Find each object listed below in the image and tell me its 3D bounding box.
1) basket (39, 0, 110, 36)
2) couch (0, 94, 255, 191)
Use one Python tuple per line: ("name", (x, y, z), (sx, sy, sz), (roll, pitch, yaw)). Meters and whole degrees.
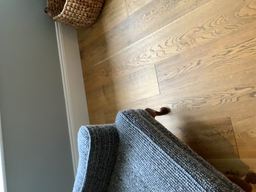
("basket", (-0.510, -0.940, 1.910), (0.530, 0.370, 0.560), (-16, 80, 43))
("couch", (-0.070, 0.590, 1.040), (0.830, 1.060, 0.880), (41, 118, 36))
